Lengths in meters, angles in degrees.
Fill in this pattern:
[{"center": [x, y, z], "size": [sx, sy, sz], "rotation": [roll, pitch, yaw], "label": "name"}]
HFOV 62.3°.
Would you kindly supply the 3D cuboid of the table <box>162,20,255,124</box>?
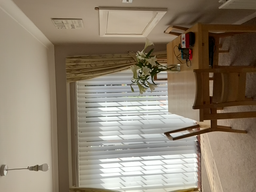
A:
[{"center": [0.910, -0.240, 2.480], "size": [0.960, 0.750, 0.960], "rotation": [-175, 84, -83], "label": "table"}]
